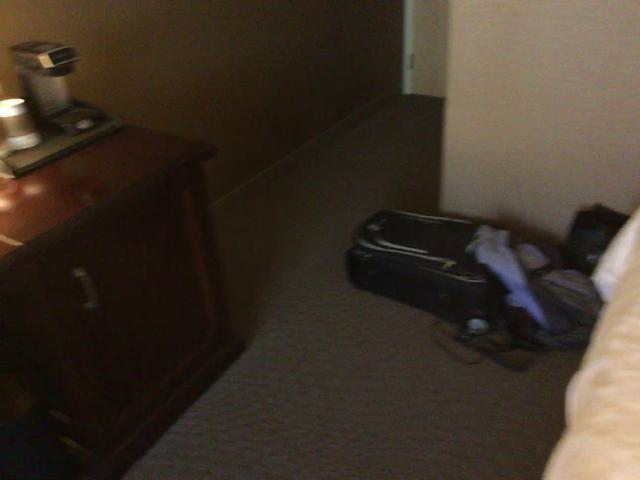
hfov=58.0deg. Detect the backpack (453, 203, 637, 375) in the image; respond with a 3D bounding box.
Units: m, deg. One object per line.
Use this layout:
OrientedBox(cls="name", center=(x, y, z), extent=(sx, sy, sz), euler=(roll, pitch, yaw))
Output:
OrientedBox(cls="backpack", center=(0.770, 0.140, 1.990), extent=(0.470, 0.300, 0.430), euler=(15, 35, 27))
